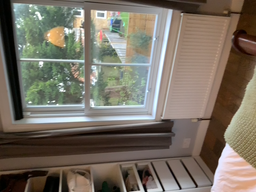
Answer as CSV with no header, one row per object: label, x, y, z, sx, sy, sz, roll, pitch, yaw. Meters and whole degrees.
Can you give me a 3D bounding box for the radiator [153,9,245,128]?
radiator,0.680,-0.210,2.190,0.100,0.670,1.210,-115,29,-60
